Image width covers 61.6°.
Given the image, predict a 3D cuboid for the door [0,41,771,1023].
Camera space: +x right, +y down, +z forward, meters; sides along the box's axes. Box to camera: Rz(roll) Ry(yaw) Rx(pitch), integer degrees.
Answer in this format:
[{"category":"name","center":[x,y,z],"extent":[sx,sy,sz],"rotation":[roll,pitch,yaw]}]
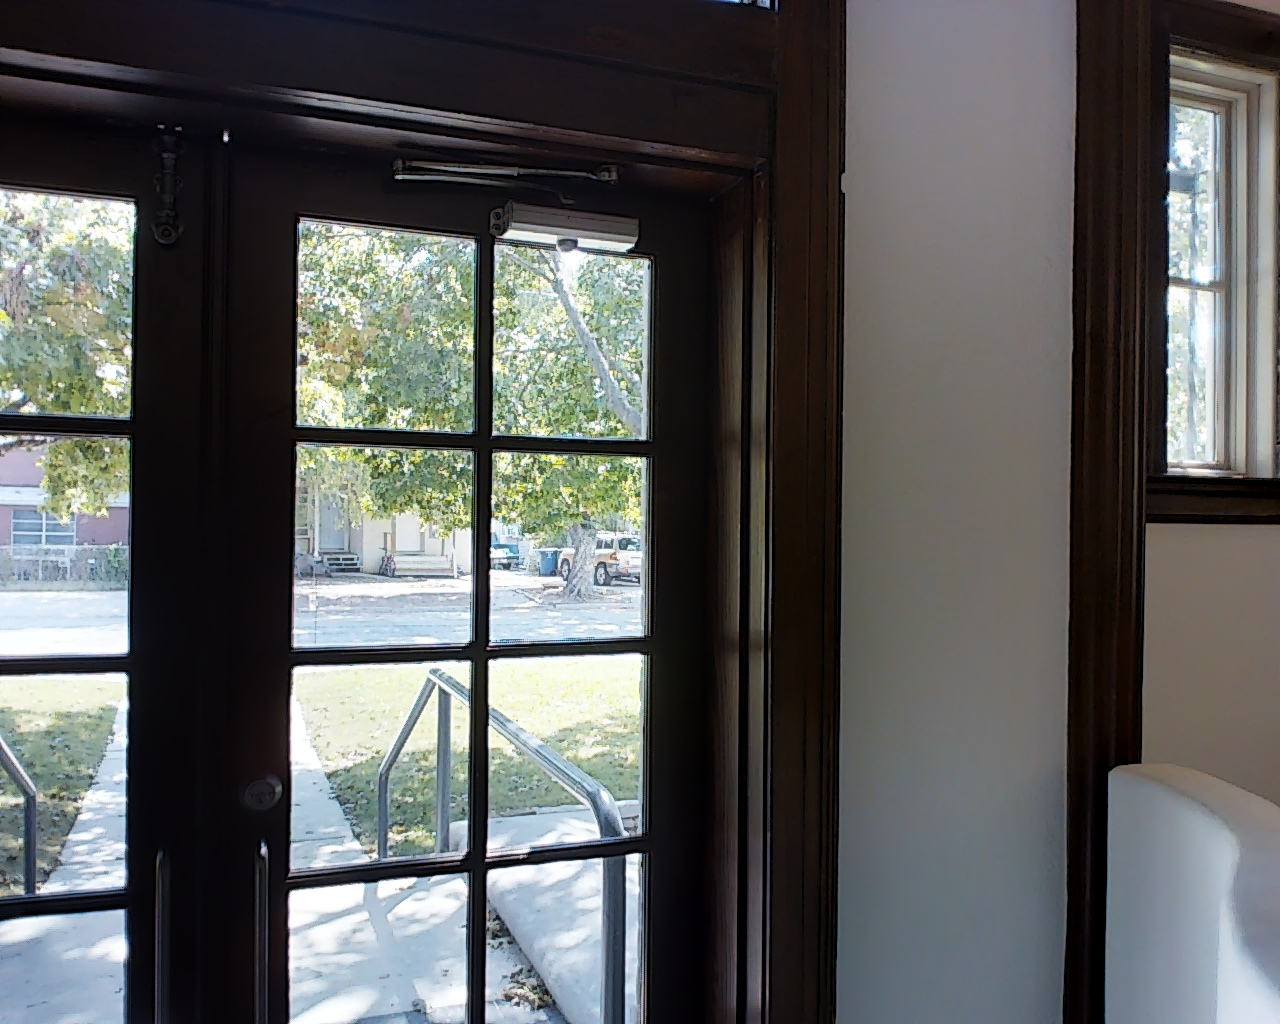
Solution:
[{"category":"door","center":[-0.590,0.430,1.530],"extent":[1.620,2.030,0.200],"rotation":[1,0,-21]}]

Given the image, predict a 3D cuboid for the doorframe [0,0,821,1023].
[{"category":"doorframe","center":[-0.570,-0.190,1.520],"extent":[1.770,3.300,0.190],"rotation":[1,0,-21]}]

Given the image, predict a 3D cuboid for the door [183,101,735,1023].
[{"category":"door","center":[-0.260,0.440,1.730],"extent":[0.870,2.060,0.050],"rotation":[1,0,-21]}]
